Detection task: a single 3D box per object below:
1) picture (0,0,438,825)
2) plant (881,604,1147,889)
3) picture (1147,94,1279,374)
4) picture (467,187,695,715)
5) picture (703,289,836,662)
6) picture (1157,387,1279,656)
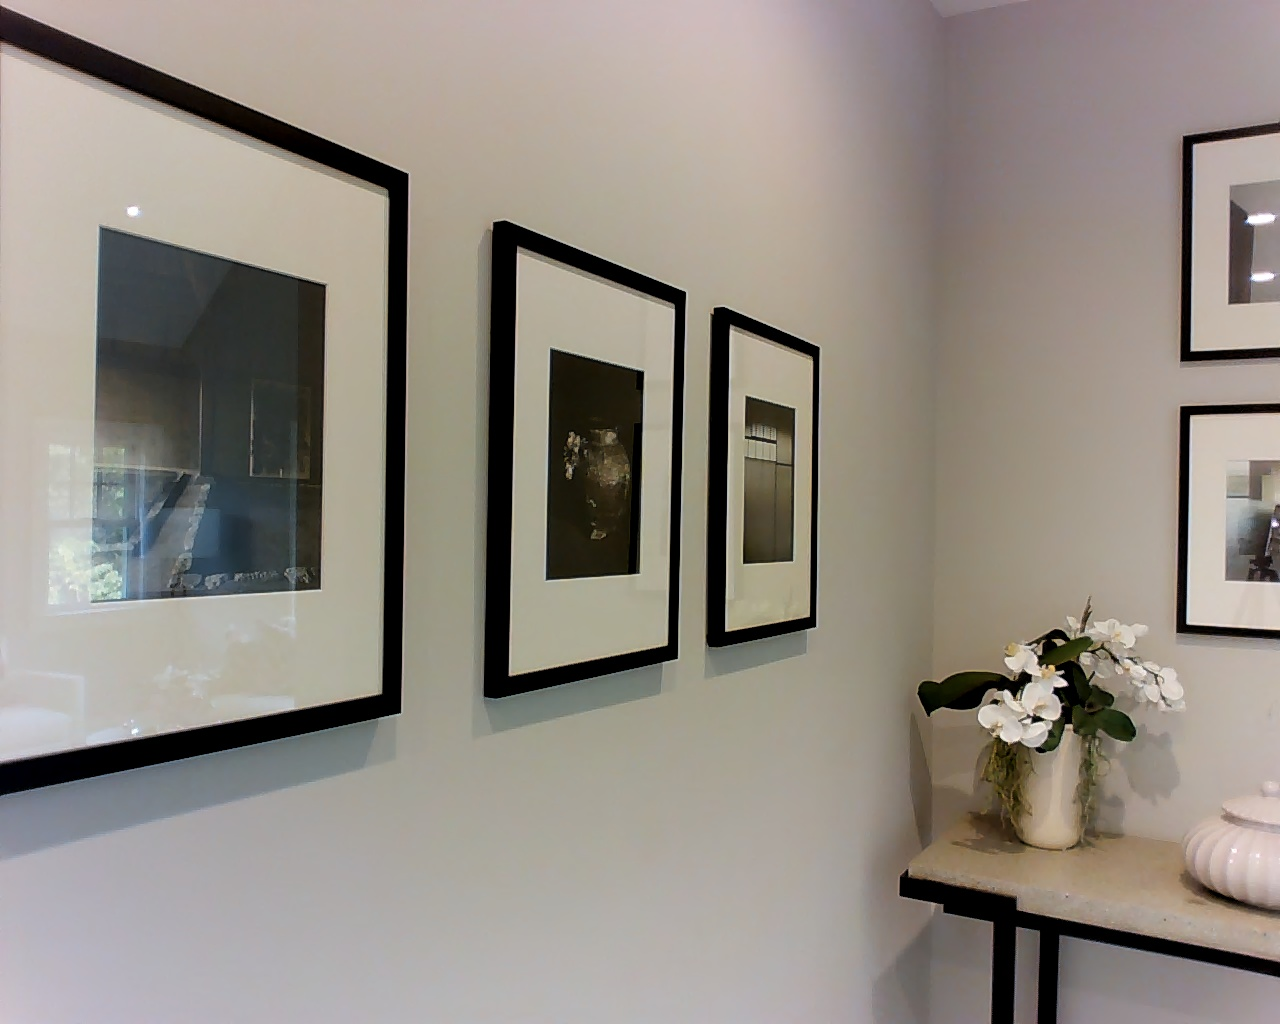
[{"bbox_3d":[-0.310,-0.070,0.830,0.020,0.530,0.430,1,0,30],"label":"picture"},{"bbox_3d":[0.810,0.460,2.300,0.450,0.470,0.470,1,0,30],"label":"plant"},{"bbox_3d":[1.350,-0.590,2.260,0.510,0.570,0.030,1,0,30],"label":"picture"},{"bbox_3d":[-0.050,-0.060,1.280,0.020,0.530,0.450,1,0,30],"label":"picture"},{"bbox_3d":[0.220,-0.050,1.730,0.030,0.530,0.450,1,0,30],"label":"picture"},{"bbox_3d":[1.340,0.020,2.250,0.460,0.560,0.030,1,0,30],"label":"picture"}]
